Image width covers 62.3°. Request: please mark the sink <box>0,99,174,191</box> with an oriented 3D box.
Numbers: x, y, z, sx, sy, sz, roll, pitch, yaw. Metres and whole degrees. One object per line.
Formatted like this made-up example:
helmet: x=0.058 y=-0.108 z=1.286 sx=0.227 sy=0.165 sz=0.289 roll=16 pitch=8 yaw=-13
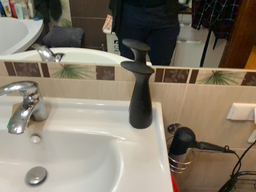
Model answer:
sink: x=-0.310 y=0.240 z=0.630 sx=0.850 sy=0.160 sz=0.510 roll=4 pitch=38 yaw=0
